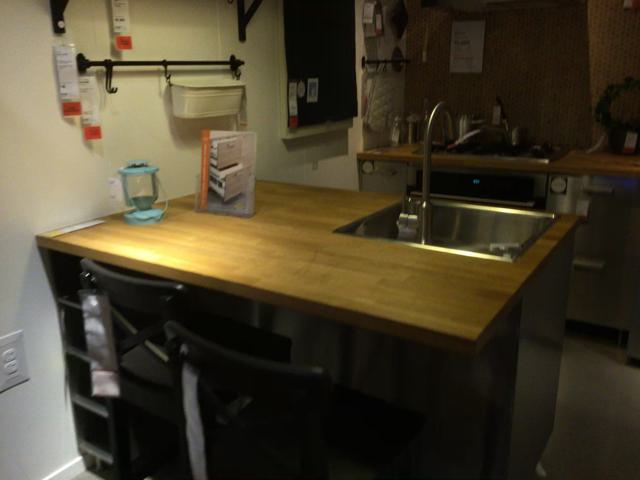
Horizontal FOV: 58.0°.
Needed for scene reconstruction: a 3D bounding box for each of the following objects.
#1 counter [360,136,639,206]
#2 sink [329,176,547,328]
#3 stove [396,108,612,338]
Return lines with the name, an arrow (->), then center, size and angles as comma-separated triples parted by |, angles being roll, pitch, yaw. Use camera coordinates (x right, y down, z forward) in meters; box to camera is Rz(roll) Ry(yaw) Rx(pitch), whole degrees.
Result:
counter -> 1.030, -0.400, 3.060 | 1.500, 0.250, 0.660 | 7, 16, 34
sink -> 0.380, 0.000, 1.820 | 0.510, 0.320, 0.480 | 7, 16, 34
stove -> 1.000, -0.160, 3.190 | 0.930, 1.060, 0.680 | 7, 16, 34
